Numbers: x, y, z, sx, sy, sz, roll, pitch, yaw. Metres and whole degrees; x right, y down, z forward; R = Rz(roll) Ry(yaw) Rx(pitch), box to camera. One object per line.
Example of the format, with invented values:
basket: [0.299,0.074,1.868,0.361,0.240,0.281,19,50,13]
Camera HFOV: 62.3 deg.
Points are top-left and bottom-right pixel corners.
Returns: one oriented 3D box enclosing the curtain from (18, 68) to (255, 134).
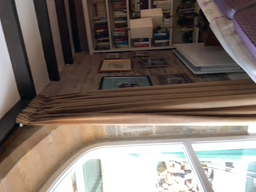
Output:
curtain: [0.380,0.010,1.590,0.440,2.150,0.220,-93,1,-58]
